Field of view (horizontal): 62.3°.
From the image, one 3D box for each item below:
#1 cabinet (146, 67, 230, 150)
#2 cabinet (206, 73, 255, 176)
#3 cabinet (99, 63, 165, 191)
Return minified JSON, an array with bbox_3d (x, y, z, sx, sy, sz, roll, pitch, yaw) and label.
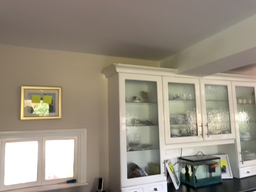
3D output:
[{"bbox_3d":[0.730,0.150,2.560,0.980,0.860,0.310,1,-7,-26],"label":"cabinet"},{"bbox_3d":[1.430,0.360,2.870,0.550,1.250,0.330,1,-7,-26],"label":"cabinet"},{"bbox_3d":[0.030,0.330,2.200,0.590,1.250,0.280,1,-7,-26],"label":"cabinet"}]
